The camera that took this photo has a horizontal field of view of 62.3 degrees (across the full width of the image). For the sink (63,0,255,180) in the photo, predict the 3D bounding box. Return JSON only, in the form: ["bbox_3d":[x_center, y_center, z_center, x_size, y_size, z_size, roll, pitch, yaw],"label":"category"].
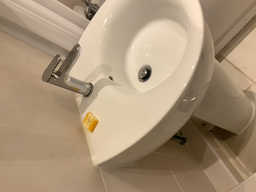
[{"bbox_3d":[0.040,-0.130,0.680,0.470,0.200,0.580,-49,44,21],"label":"sink"}]
